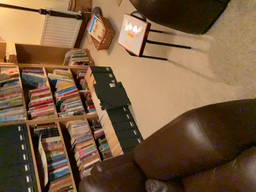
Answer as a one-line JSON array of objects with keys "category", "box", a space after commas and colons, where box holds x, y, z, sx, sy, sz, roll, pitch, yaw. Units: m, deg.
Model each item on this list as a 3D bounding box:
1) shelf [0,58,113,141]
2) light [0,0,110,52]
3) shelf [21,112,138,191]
[{"category": "shelf", "box": [-1.230, 0.010, 2.420, 0.370, 1.970, 0.850, -54, 51, 41]}, {"category": "light", "box": [-1.190, -1.000, 2.520, 0.650, 1.770, 0.540, -55, 53, 41]}, {"category": "shelf", "box": [-0.530, 0.640, 2.320, 0.360, 1.020, 0.770, -54, 51, 41]}]
